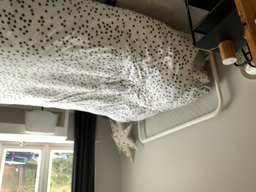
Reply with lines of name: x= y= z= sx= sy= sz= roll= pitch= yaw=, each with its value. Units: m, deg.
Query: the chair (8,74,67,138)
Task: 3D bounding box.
chair: x=-1.300 y=0.190 z=3.210 sx=0.640 sy=0.760 sz=0.690 roll=2 pitch=157 yaw=-13

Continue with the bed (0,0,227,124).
bed: x=-0.510 y=-0.300 z=2.230 sx=2.230 sy=0.640 sz=1.700 roll=8 pitch=155 yaw=-25

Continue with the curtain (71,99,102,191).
curtain: x=-0.680 y=1.280 z=3.490 sx=0.440 sy=2.510 sz=0.210 roll=9 pitch=155 yaw=-27
